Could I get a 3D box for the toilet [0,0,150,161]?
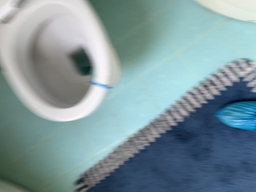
[{"bbox_3d":[-0.350,-0.200,0.690,0.470,0.780,0.650,-33,81,11],"label":"toilet"}]
